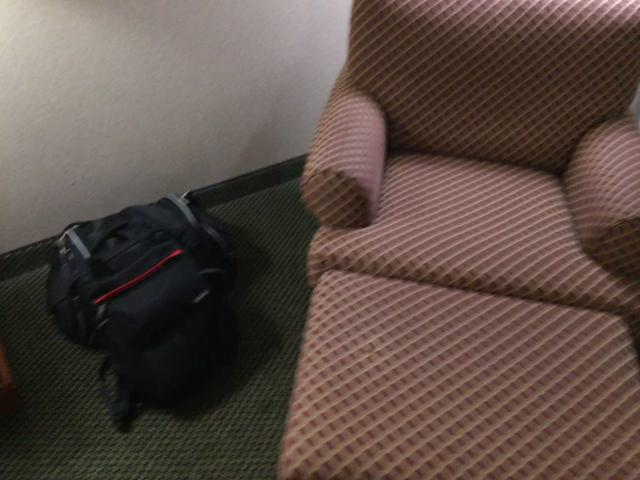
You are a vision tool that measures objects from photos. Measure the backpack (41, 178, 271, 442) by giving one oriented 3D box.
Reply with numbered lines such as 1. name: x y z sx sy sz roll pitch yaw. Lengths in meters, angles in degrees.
1. backpack: -0.400 0.160 1.470 0.400 0.400 0.390 -21 45 -25

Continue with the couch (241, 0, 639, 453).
1. couch: 0.410 -0.150 1.550 0.960 0.870 0.860 9 40 9
